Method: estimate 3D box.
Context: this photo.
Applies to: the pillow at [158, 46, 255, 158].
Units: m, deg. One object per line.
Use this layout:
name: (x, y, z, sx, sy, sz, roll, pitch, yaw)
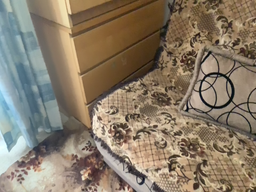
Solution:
pillow: (0.490, 0.030, 0.970, 0.600, 0.340, 0.180, 25, 20, 25)
